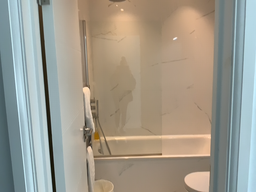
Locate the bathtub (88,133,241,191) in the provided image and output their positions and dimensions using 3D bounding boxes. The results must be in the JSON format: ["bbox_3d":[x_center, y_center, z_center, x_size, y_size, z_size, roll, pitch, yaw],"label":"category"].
[{"bbox_3d":[0.390,0.840,2.630,1.640,0.520,0.680,-1,9,-1],"label":"bathtub"}]
